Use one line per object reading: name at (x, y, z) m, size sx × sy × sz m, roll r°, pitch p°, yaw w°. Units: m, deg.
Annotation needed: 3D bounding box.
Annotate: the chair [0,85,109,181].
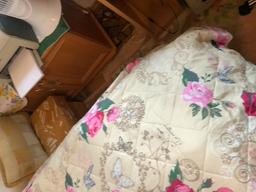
chair at (-0.520, 0.210, 1.430) m, size 0.350 × 0.620 × 0.400 m, roll -42°, pitch 70°, yaw 22°
